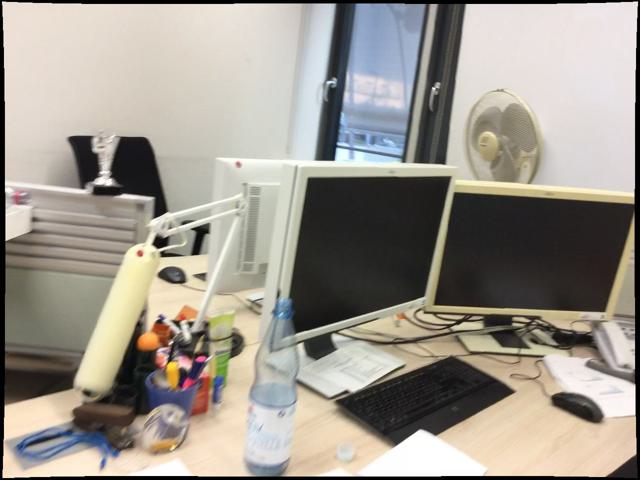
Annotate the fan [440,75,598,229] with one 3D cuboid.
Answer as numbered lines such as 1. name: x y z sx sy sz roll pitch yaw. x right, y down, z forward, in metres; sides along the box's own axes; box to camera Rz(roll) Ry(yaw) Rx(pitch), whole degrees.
1. fan: 0.799 -0.370 2.360 0.350 0.551 0.420 -8 18 -42

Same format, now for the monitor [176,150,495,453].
1. monitor: 0.050 0.070 1.310 0.660 0.510 0.300 -8 18 -42

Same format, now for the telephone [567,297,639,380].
1. telephone: 0.929 0.280 1.630 0.370 0.100 0.290 -8 18 -42

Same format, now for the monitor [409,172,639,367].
1. monitor: 0.569 0.060 1.530 0.609 0.440 0.220 -4 8 -5
